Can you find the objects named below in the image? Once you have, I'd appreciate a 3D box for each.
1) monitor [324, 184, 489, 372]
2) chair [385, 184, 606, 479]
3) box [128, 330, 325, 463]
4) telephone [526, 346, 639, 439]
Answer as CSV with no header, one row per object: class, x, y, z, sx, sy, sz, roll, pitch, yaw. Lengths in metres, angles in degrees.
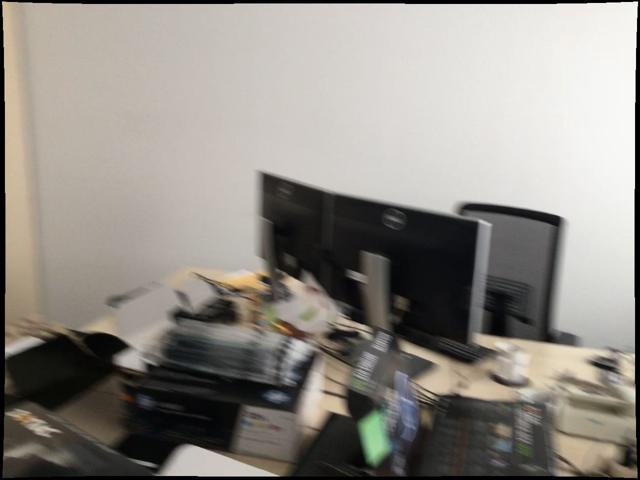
monitor,0.240,0.090,1.760,0.160,0.450,0.460,-11,20,-43
chair,0.689,0.400,2.250,0.600,1.101,0.680,9,16,25
box,-0.210,0.360,1.400,0.390,0.140,0.290,5,14,10
telephone,0.709,0.390,1.500,0.290,0.110,0.230,5,14,10
